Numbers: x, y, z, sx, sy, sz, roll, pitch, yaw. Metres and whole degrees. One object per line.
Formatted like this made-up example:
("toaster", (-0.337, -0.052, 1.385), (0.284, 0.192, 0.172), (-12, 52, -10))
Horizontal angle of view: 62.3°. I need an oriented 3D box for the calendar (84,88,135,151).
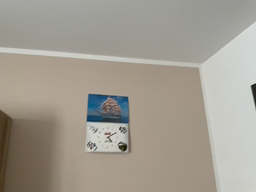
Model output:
("calendar", (-0.160, 0.200, 1.860), (0.420, 0.540, 0.040), (3, -18, -15))
